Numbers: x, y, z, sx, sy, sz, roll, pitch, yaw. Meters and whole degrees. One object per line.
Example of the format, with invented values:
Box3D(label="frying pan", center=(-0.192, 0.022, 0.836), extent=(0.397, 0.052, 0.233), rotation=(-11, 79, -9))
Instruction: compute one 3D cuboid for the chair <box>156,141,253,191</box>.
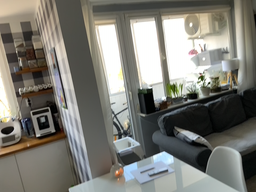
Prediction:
Box3D(label="chair", center=(0.620, 0.880, 1.680), extent=(0.520, 0.830, 0.440), rotation=(-14, 10, -25))

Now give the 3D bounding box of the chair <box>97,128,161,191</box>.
Box3D(label="chair", center=(0.030, 0.860, 2.140), extent=(0.400, 0.930, 0.430), rotation=(-14, 10, -26))
